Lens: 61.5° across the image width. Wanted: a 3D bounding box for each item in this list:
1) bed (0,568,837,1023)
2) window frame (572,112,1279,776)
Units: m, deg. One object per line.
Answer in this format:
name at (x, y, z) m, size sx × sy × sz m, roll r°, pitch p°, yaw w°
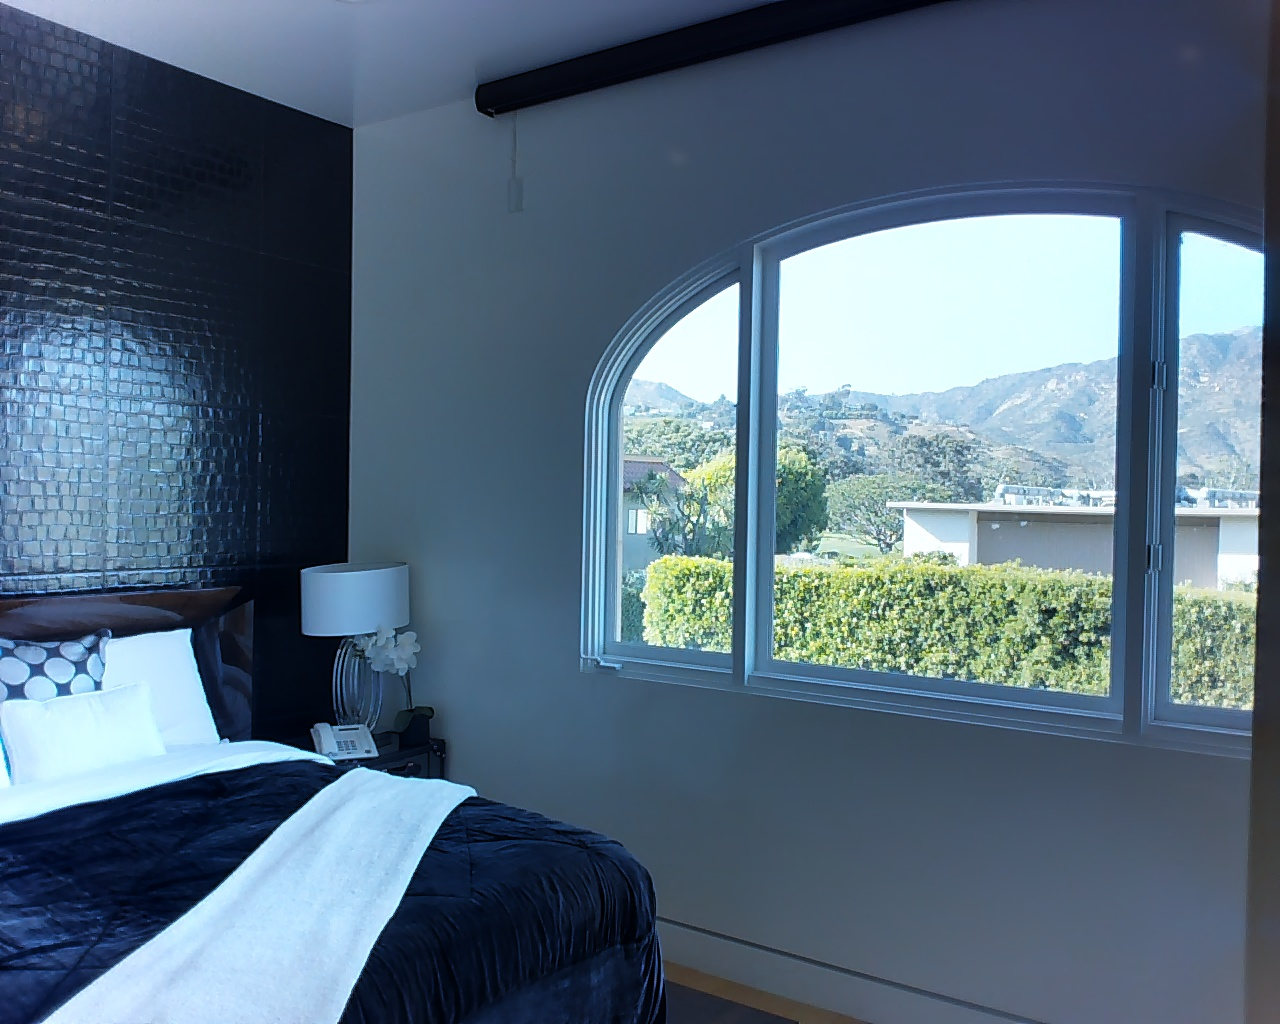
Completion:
bed at (-1.229, 0.880, 2.450) m, size 2.439 × 1.281 × 2.550 m, roll 1°, pitch 1°, yaw 35°
window frame at (0.900, -0.180, 3.230) m, size 2.479 × 1.581 × 0.380 m, roll 1°, pitch 1°, yaw 35°
